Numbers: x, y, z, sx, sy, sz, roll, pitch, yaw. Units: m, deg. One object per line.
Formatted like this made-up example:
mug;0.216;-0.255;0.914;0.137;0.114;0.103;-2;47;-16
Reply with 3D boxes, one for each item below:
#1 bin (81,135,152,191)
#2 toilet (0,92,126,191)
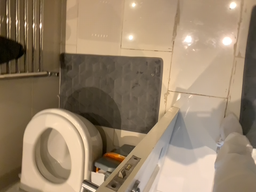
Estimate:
bin;-0.040;0.350;1.080;0.220;0.350;0.140;14;103;18
toilet;-0.360;0.300;0.990;0.390;0.810;0.490;10;101;19
